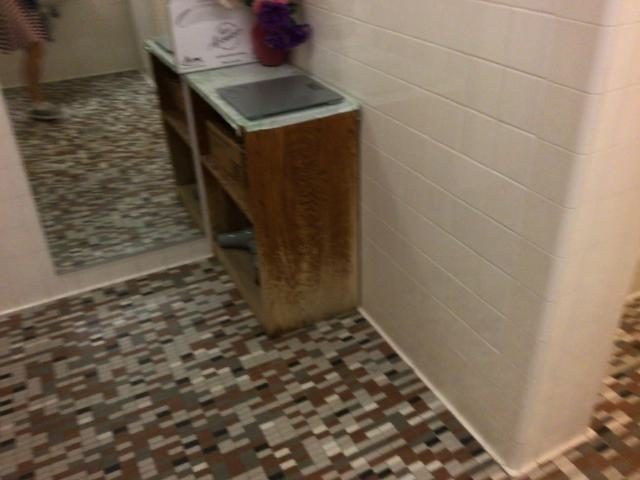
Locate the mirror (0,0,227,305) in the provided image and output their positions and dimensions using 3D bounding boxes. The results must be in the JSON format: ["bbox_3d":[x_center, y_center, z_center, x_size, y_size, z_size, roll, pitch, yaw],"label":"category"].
[{"bbox_3d":[-0.780,-0.500,1.960,0.730,1.390,0.230,-16,34,-21],"label":"mirror"}]

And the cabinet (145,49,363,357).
[{"bbox_3d":[-0.220,-0.160,1.980,0.480,0.780,0.620,-16,34,-21],"label":"cabinet"}]
